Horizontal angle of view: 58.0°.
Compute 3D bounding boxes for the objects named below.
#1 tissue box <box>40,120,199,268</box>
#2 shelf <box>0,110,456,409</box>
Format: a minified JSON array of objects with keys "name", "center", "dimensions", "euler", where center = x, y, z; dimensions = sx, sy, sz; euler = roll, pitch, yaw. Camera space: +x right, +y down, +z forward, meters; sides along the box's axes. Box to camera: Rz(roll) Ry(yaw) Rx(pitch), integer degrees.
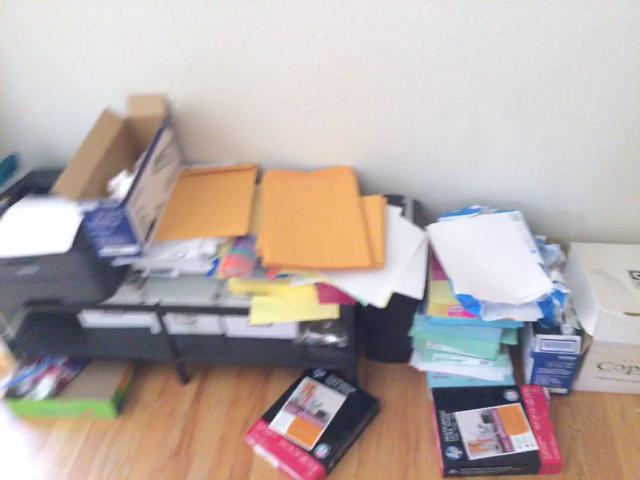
[{"name":"tissue box","center":[-0.480,-0.130,1.460],"dimensions":[0.200,0.190,0.390],"euler":[1,37,9]},{"name":"shelf","center":[-0.310,0.040,1.580],"dimensions":[1.270,0.640,0.430],"euler":[1,37,9]}]
